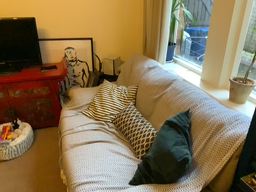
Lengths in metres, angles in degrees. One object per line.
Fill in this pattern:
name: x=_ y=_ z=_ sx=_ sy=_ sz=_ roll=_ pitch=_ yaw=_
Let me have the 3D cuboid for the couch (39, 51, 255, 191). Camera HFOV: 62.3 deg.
couch: x=-0.080 y=0.270 z=1.770 sx=1.030 sy=0.820 sz=1.720 roll=-10 pitch=28 yaw=-22
